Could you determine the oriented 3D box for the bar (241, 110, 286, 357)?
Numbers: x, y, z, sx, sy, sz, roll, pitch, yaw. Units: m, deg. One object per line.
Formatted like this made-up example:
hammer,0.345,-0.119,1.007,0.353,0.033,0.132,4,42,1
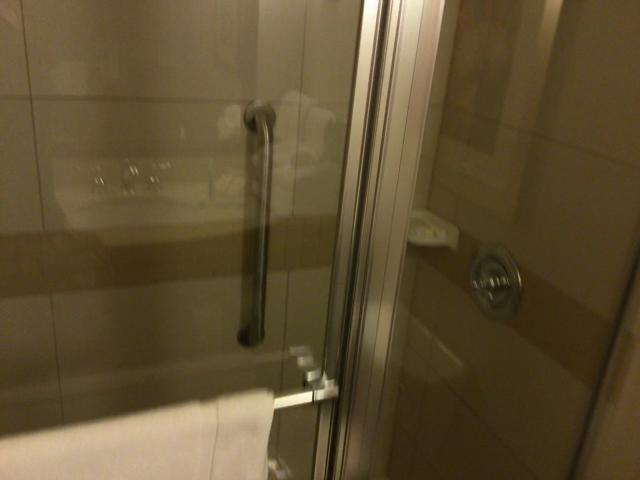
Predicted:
bar,-0.150,0.000,1.470,0.060,0.640,0.090,-5,25,-23
